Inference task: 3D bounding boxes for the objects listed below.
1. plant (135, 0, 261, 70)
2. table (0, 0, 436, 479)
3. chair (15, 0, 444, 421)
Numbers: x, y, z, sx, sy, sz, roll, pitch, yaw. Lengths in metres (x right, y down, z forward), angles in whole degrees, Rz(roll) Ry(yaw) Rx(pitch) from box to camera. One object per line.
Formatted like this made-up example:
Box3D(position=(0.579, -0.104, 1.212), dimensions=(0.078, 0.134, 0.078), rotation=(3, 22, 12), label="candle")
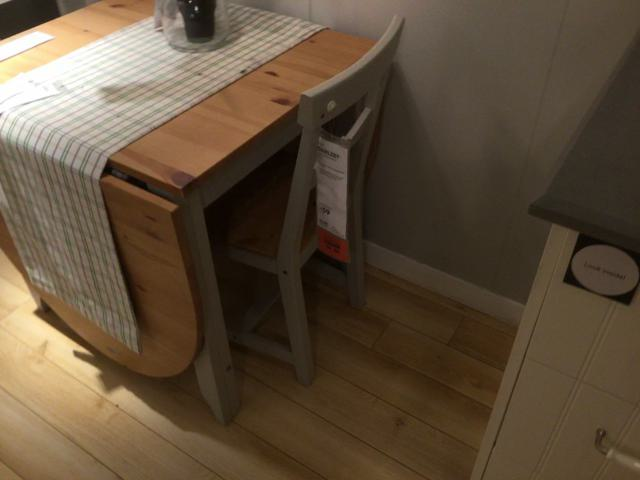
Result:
Box3D(position=(-0.280, -0.580, 1.270), dimensions=(0.200, 0.320, 0.180), rotation=(23, 46, 27), label="plant")
Box3D(position=(-0.370, -0.140, 1.500), dimensions=(1.000, 0.810, 0.780), rotation=(23, 46, 27), label="table")
Box3D(position=(-0.180, -0.140, 1.470), dimensions=(0.740, 0.840, 0.500), rotation=(23, 46, 27), label="chair")
